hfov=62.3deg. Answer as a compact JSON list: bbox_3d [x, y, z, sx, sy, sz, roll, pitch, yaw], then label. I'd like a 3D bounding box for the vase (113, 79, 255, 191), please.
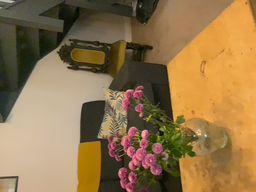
[{"bbox_3d":[0.230,0.260,0.750,0.480,0.450,0.470,145,127,-66],"label":"vase"}]

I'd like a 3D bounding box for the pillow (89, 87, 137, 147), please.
[{"bbox_3d":[-0.160,0.220,2.270,0.310,0.160,0.550,20,91,28],"label":"pillow"}]

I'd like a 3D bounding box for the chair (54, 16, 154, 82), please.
[{"bbox_3d":[-0.340,-0.530,2.750,0.710,1.120,0.510,168,105,-70],"label":"chair"}]
